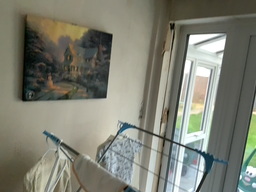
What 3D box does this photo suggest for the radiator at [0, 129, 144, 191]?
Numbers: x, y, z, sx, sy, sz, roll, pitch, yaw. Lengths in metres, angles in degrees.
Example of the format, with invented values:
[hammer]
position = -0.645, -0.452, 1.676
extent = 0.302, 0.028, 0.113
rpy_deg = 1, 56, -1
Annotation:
[radiator]
position = -0.340, 0.800, 1.270
extent = 0.900, 1.110, 0.150
rpy_deg = 1, 9, -42
